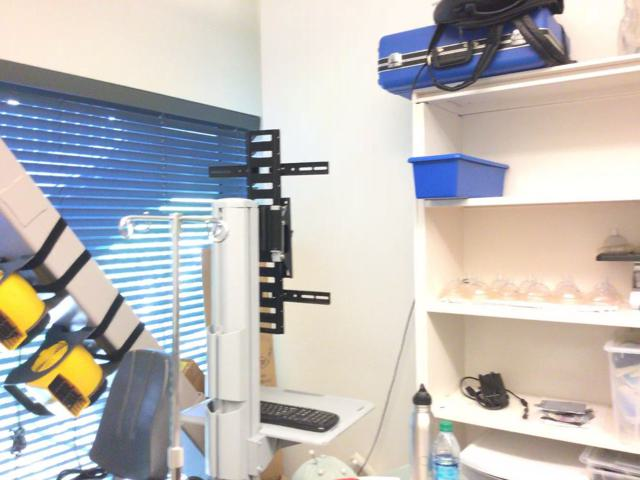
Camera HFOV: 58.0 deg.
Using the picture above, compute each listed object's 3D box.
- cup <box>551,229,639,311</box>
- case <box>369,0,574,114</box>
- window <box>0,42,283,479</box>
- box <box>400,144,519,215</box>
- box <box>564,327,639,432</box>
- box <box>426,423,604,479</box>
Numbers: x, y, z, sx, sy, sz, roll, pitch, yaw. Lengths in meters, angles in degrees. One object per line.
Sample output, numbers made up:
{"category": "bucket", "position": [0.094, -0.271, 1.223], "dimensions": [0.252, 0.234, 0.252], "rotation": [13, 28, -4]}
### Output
{"category": "cup", "position": [1.040, 0.090, 1.800], "dimensions": [0.570, 0.250, 0.120], "rotation": [-5, -4, 36]}
{"category": "case", "position": [0.510, -0.610, 1.950], "dimensions": [0.550, 0.180, 0.410], "rotation": [-5, -4, 36]}
{"category": "window", "position": [-1.040, 0.140, 2.290], "dimensions": [0.450, 1.570, 2.190], "rotation": [-5, -4, 35]}
{"category": "box", "position": [0.490, -0.190, 1.970], "dimensions": [0.210, 0.160, 0.500], "rotation": [-5, -4, 36]}
{"category": "box", "position": [0.950, 0.400, 1.710], "dimensions": [0.330, 0.240, 0.370], "rotation": [-5, -4, 36]}
{"category": "box", "position": [0.640, 0.800, 1.870], "dimensions": [0.440, 0.270, 0.400], "rotation": [-5, -4, 36]}
